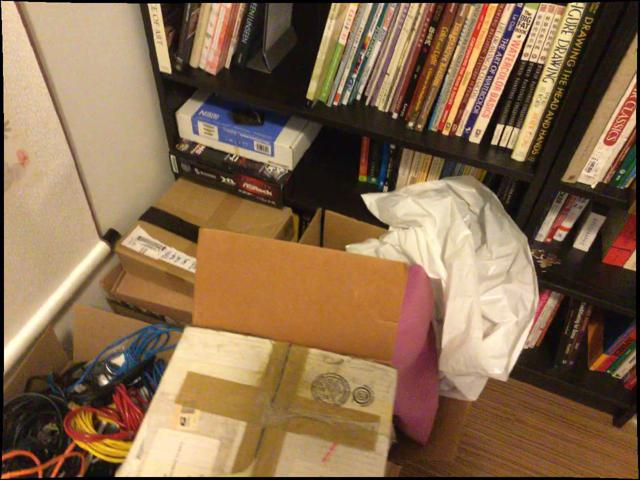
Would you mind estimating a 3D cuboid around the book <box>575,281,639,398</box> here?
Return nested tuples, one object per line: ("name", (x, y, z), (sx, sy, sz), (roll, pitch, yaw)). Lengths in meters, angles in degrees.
("book", (0.688, 0.231, 1.300), (0.110, 0.270, 0.110), (20, 52, 13))

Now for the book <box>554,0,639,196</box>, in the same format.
("book", (0.469, -0.211, 0.900), (0.090, 0.310, 0.060), (20, 52, 13))

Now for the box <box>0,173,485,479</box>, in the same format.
("box", (-0.100, 0.281, 0.770), (0.429, 0.320, 0.600), (20, 52, 13))

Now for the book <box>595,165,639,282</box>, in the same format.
("book", (0.648, -0.030, 1.160), (0.100, 0.190, 0.120), (20, 52, 13))

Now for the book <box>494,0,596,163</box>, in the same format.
("book", (0.359, -0.261, 0.940), (0.060, 0.300, 0.050), (20, 52, 13))
